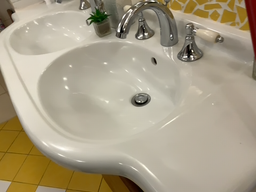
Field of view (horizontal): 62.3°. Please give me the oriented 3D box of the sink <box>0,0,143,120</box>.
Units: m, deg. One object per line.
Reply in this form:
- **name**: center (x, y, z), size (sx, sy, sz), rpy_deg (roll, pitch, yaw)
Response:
- **sink**: center (-0.340, -0.270, 1.000), size (0.520, 0.200, 0.650), rpy_deg (-30, 44, -18)

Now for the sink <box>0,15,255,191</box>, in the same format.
- **sink**: center (0.010, 0.050, 0.560), size (0.520, 0.200, 0.650), rpy_deg (-30, 44, -18)
